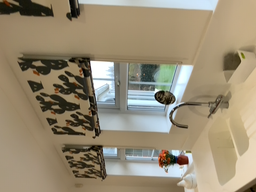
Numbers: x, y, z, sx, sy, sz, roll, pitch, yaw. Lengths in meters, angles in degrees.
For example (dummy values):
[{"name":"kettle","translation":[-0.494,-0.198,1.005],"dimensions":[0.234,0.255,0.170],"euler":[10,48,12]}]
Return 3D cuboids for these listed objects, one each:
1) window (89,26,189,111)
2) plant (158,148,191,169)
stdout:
[{"name":"window","translation":[0.060,-0.180,1.920],"dimensions":[0.950,0.710,0.120],"euler":[94,178,-54]},{"name":"plant","translation":[0.590,0.810,2.730],"dimensions":[0.270,0.350,0.160],"euler":[94,178,-52]}]
